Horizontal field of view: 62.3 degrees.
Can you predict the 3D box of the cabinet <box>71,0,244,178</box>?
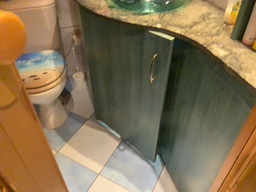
[{"bbox_3d":[0.020,-0.230,1.470,0.590,0.850,1.110,-12,43,-13],"label":"cabinet"}]
